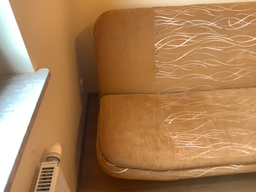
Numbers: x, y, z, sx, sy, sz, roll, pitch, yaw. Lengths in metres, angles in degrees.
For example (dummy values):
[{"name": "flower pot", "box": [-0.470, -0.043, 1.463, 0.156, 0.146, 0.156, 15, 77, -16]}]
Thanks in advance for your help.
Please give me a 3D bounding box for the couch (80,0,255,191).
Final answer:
[{"name": "couch", "box": [0.760, -0.080, 1.480, 1.940, 0.890, 1.100, -4, 41, -3]}]
